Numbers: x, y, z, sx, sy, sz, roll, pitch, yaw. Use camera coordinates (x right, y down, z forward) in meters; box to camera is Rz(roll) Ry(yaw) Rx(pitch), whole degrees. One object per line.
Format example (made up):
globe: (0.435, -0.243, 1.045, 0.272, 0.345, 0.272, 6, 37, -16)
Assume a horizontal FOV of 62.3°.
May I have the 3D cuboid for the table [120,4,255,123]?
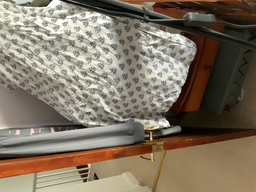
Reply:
table: (0.410, -0.230, 1.390, 0.610, 0.610, 0.560, 35, 119, 52)
